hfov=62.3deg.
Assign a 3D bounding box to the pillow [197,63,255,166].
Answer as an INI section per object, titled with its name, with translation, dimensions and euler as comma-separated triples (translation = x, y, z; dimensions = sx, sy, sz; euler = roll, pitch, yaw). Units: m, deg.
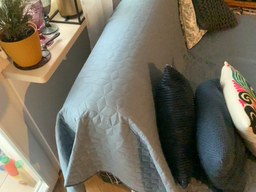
[pillow]
translation = 0.520, 0.120, 1.030
dimensions = 0.260, 0.430, 0.370
euler = 5, 70, 6
